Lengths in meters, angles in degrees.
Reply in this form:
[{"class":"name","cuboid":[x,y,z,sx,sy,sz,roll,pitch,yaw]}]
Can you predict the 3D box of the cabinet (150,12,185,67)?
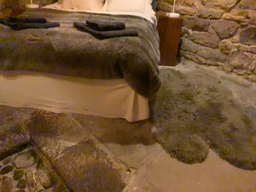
[{"class":"cabinet","cuboid":[0.550,-0.820,3.060,0.380,0.660,0.390,7,30,5]}]
